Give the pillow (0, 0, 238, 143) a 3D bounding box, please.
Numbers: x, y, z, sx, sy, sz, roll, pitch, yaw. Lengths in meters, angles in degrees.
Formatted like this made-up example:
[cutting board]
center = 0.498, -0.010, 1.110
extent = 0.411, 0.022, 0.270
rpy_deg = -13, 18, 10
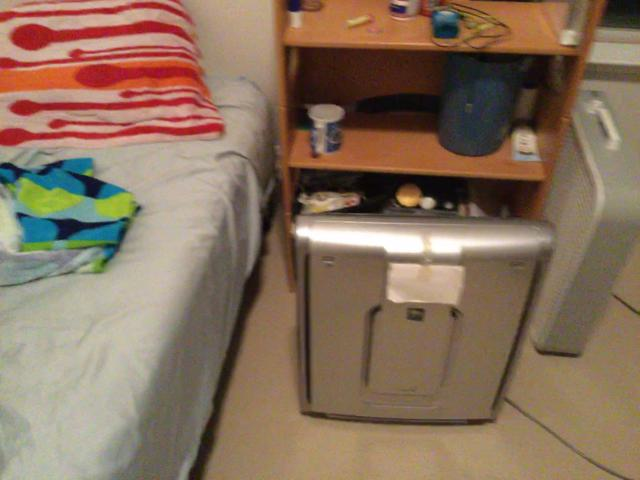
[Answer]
[pillow]
center = -0.670, -0.480, 1.500
extent = 0.850, 0.290, 0.410
rpy_deg = 0, 37, -1
